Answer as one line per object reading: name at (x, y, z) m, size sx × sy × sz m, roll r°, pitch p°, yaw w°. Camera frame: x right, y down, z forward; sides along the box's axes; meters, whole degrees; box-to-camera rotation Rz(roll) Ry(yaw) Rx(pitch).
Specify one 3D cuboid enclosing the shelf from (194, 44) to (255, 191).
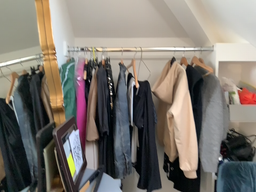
shelf at (0.800, 0.360, 1.640) m, size 0.410 × 1.440 × 0.370 m, roll 1°, pitch 6°, yaw 0°
